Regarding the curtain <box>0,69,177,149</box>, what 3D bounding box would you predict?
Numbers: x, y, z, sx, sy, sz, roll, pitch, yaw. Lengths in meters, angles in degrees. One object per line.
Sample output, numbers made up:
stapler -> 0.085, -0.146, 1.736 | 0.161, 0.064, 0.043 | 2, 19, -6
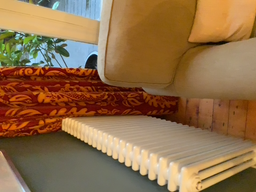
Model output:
curtain -> -0.550, 0.050, 1.220 | 0.330, 2.190, 0.370 | 6, 94, 51
